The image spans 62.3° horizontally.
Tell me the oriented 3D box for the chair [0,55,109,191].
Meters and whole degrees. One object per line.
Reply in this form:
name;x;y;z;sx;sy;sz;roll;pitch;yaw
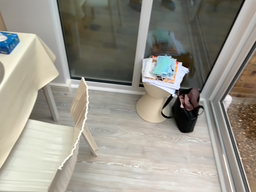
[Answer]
chair;-0.410;0.290;1.130;0.530;0.770;0.540;7;48;0
